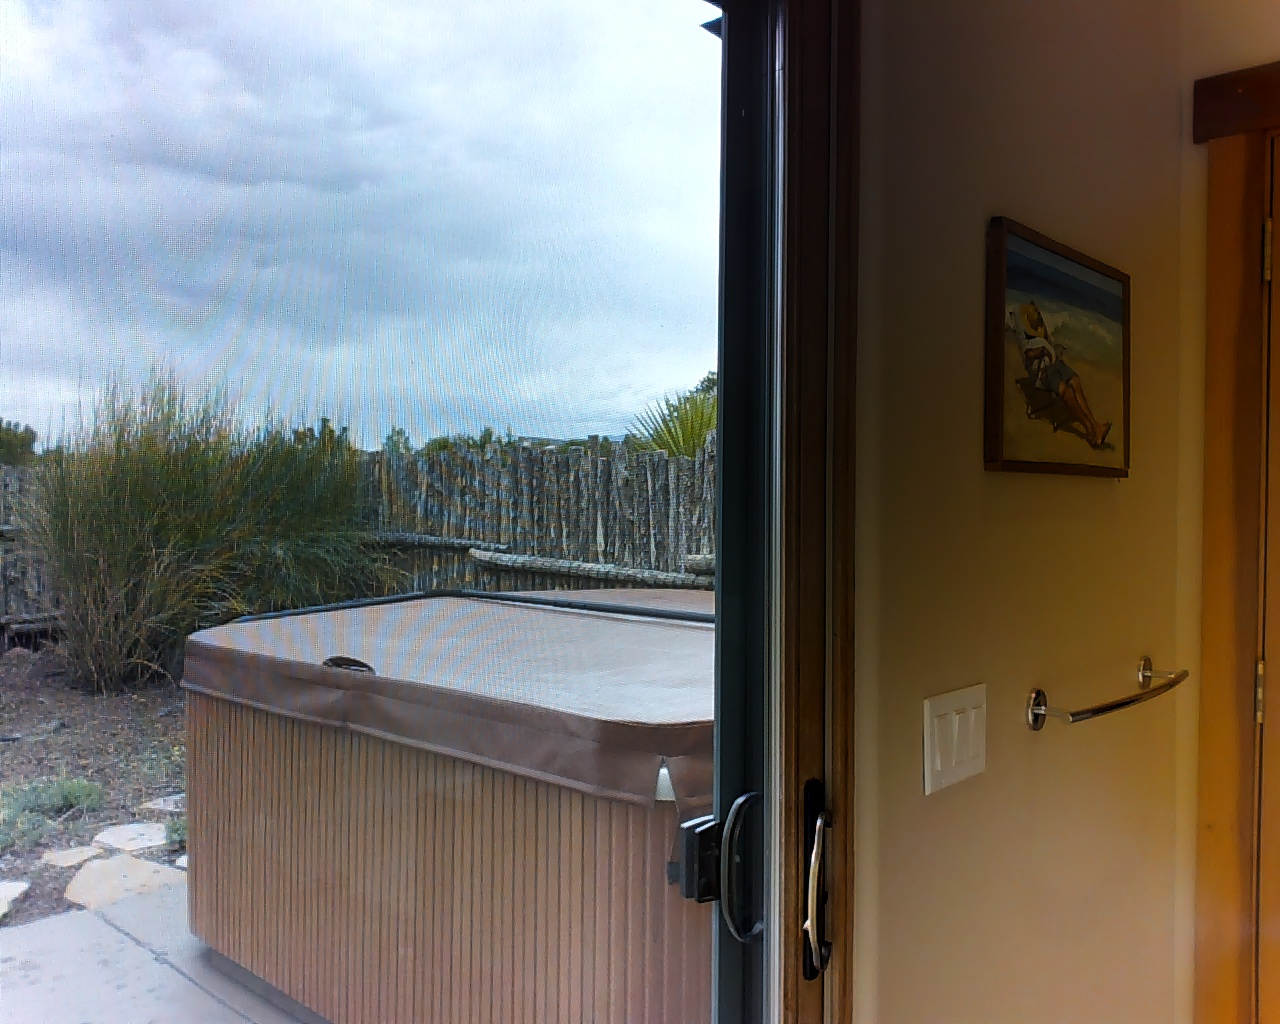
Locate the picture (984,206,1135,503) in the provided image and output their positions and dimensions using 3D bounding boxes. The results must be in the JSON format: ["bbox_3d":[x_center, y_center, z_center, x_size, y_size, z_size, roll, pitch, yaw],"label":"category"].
[{"bbox_3d":[0.620,-0.200,1.550,0.020,0.370,0.520,1,0,42],"label":"picture"}]
